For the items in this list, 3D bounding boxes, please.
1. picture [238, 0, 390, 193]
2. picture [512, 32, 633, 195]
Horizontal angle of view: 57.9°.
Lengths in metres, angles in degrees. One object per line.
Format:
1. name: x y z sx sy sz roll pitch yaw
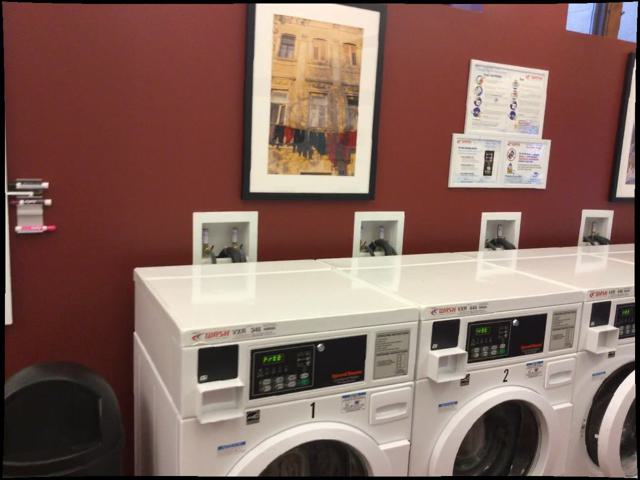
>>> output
1. picture: -0.020 -0.561 2.250 0.590 0.741 0.090 -3 11 -26
2. picture: 1.259 -0.601 2.870 0.659 0.741 0.070 -3 11 -26
